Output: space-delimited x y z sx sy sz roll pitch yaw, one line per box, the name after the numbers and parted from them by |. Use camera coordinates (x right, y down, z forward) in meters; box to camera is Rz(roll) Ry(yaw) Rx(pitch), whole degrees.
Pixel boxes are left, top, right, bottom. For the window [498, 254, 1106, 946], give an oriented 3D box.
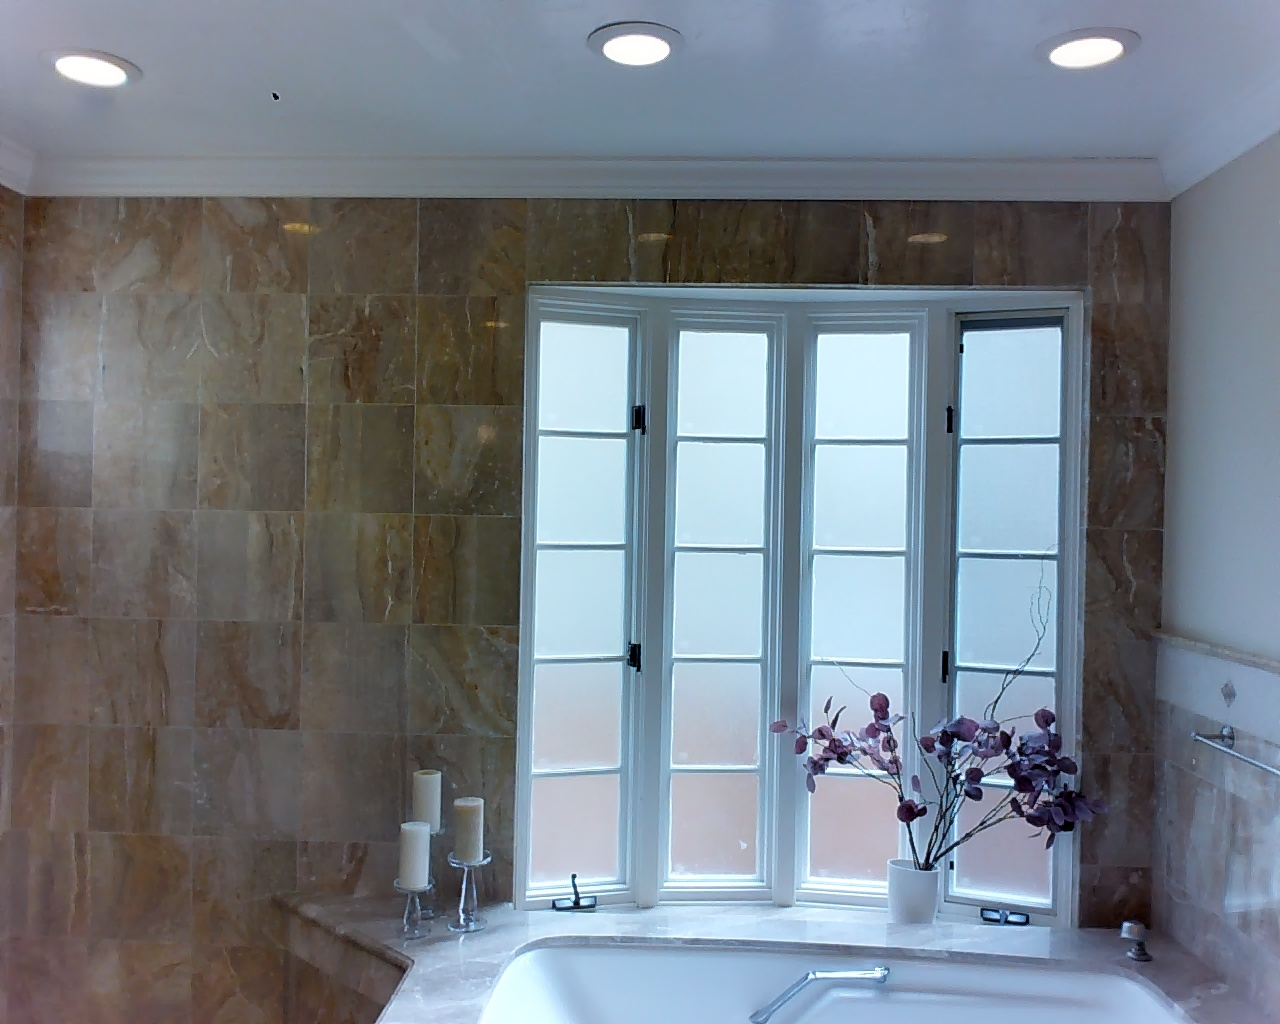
0.440 0.230 3.110 1.610 1.850 0.350 1 0 2 | window

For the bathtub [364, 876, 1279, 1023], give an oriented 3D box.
0.410 1.320 2.330 1.910 0.570 1.270 1 0 2 | bathtub
